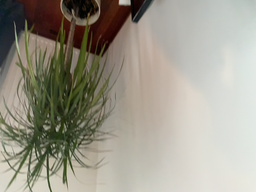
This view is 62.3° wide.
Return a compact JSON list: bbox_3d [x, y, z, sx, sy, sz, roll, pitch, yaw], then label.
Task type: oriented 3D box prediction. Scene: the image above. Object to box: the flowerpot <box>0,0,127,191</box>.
[{"bbox_3d":[-0.370,-0.050,1.300,0.440,1.200,0.600,15,145,-27],"label":"flowerpot"}]
